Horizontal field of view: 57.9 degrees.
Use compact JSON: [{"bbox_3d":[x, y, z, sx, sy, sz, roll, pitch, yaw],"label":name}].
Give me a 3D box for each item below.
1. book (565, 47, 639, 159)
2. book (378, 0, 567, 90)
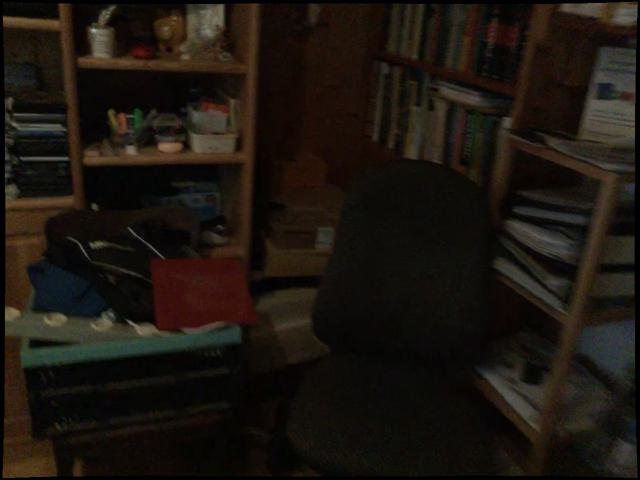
[{"bbox_3d":[0.759,-0.350,1.470,0.180,0.240,0.080,22,29,31],"label":"book"},{"bbox_3d":[0.430,-0.681,1.840,0.130,0.240,0.770,-4,26,-22],"label":"book"}]
